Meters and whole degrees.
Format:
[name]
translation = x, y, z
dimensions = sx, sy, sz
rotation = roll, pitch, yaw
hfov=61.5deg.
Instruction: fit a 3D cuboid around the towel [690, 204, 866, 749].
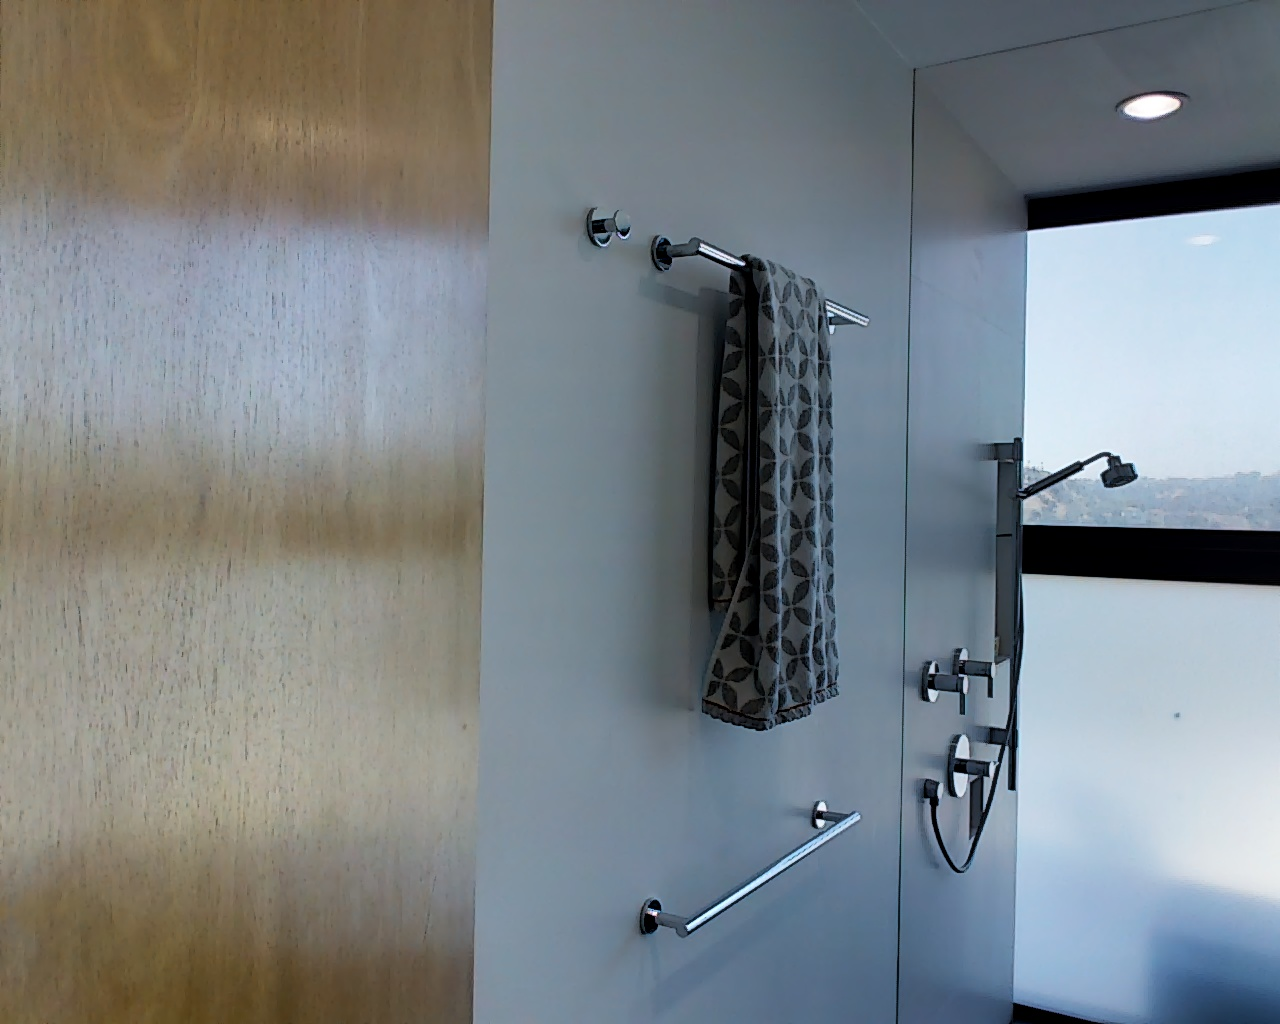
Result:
[towel]
translation = 0.230, -0.050, 1.720
dimensions = 0.130, 0.780, 0.340
rotation = 1, 0, 33
